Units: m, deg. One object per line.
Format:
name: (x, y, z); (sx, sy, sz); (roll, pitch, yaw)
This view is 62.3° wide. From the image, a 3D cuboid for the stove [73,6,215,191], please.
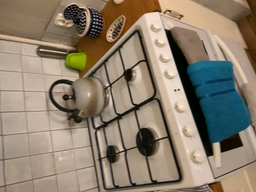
stove: (-0.030, 0.080, 0.890); (0.630, 0.060, 0.590); (-31, 66, 46)
